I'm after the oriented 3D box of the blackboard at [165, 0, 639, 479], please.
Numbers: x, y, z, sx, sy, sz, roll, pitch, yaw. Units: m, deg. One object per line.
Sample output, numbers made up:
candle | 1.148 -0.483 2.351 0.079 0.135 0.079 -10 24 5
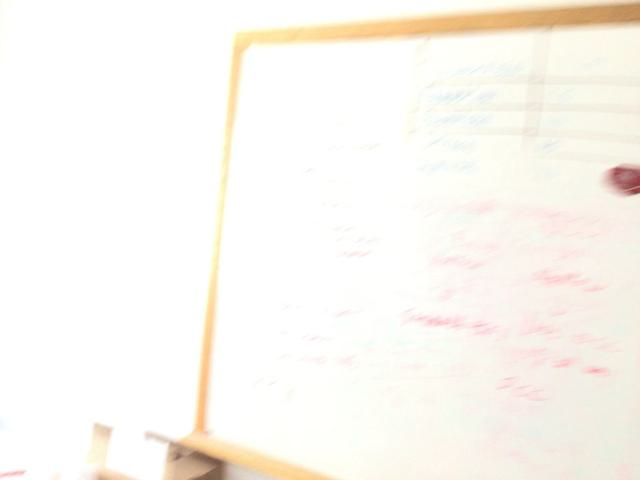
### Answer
blackboard | 0.430 0.050 1.290 1.840 1.330 0.130 4 1 28
